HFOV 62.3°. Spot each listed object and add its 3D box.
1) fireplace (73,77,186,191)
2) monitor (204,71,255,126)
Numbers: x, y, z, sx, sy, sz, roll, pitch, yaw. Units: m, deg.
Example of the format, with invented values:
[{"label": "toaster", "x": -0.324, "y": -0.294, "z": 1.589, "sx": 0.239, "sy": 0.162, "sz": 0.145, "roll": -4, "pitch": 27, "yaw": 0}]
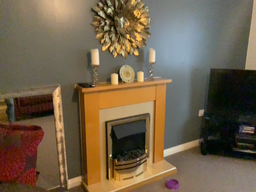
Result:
[{"label": "fireplace", "x": 0.040, "y": 0.380, "z": 2.150, "sx": 1.040, "sy": 1.030, "sz": 0.350, "roll": -7, "pitch": 16, "yaw": -29}, {"label": "monitor", "x": 1.450, "y": 0.040, "z": 2.540, "sx": 0.960, "sy": 0.630, "sz": 0.040, "roll": 4, "pitch": 14, "yaw": 14}]
